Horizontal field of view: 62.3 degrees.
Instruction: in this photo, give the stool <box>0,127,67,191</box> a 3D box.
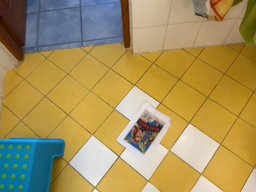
[{"bbox_3d":[-0.540,0.390,1.040,0.360,0.240,0.420,0,68,2],"label":"stool"}]
